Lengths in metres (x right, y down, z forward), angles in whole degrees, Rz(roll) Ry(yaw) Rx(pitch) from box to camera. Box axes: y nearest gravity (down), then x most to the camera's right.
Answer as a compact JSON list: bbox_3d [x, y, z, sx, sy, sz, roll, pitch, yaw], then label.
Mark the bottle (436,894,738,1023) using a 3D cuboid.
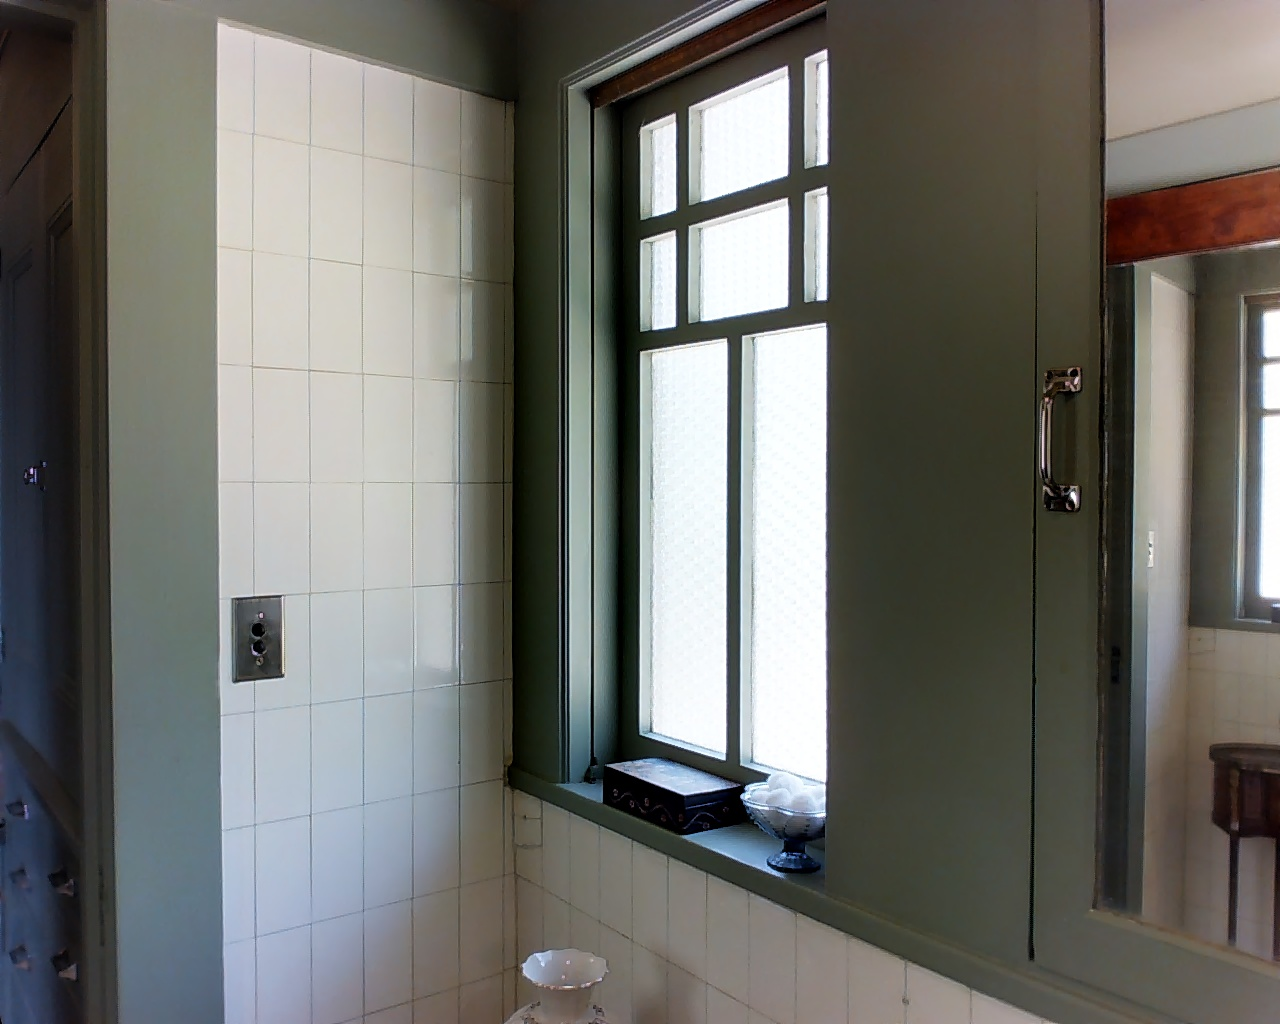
[{"bbox_3d":[-0.070,0.670,1.330,0.280,0.260,0.250,-1,3,-34],"label":"bottle"}]
